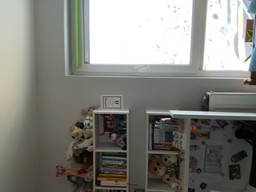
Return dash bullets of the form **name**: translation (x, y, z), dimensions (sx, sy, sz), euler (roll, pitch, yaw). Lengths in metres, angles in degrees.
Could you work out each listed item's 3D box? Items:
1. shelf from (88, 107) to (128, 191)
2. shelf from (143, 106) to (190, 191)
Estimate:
- **shelf**: translation (-0.170, 0.620, 1.880), dimensions (0.220, 0.310, 1.010), euler (-57, -31, -84)
- **shelf**: translation (0.290, 0.630, 1.770), dimensions (0.390, 0.310, 1.040), euler (-57, -31, -84)
